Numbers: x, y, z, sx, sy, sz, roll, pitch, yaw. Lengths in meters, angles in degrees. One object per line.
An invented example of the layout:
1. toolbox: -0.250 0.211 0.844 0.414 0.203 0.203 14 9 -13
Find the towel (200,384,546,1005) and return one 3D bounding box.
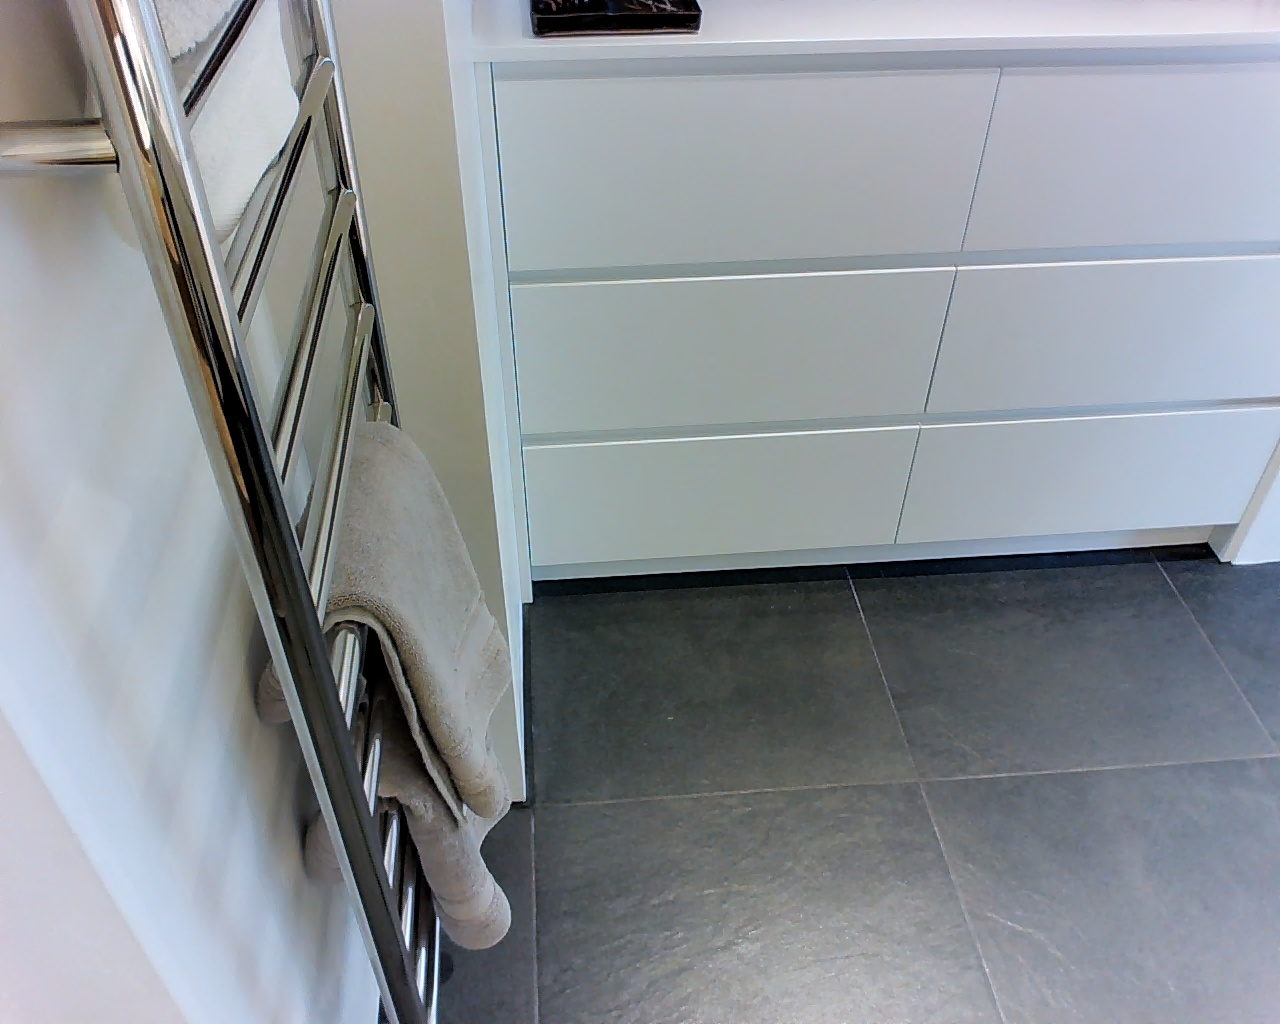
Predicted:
1. towel: -0.220 0.200 1.070 0.220 0.570 0.300 -3 41 -5
